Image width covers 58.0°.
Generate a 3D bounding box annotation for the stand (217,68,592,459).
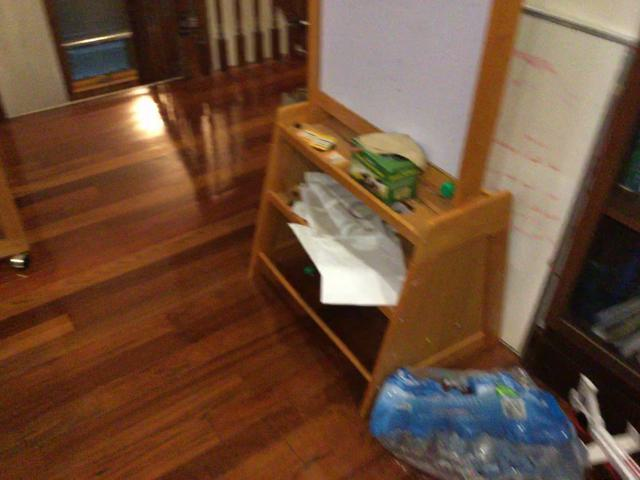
[{"bbox_3d":[0.140,0.000,1.620,0.520,0.610,0.820,-19,45,-31],"label":"stand"}]
